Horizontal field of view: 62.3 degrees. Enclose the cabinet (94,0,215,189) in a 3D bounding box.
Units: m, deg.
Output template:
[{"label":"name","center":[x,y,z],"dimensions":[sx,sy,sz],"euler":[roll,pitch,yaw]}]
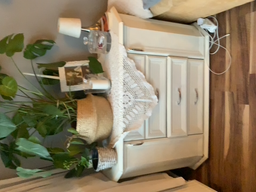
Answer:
[{"label":"cabinet","center":[0.200,-0.010,1.800],"dimensions":[0.560,0.810,1.220],"euler":[7,96,64]}]
